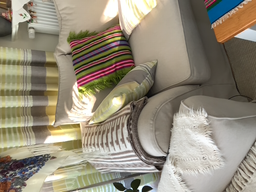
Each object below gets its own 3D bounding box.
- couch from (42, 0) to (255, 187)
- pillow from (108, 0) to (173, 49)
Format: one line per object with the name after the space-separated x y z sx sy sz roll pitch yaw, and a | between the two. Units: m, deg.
-0.060 -0.630 1.580 0.980 0.890 2.210 -30 66 54 | couch
0.040 -0.670 1.420 0.470 0.130 0.530 -27 68 55 | pillow
